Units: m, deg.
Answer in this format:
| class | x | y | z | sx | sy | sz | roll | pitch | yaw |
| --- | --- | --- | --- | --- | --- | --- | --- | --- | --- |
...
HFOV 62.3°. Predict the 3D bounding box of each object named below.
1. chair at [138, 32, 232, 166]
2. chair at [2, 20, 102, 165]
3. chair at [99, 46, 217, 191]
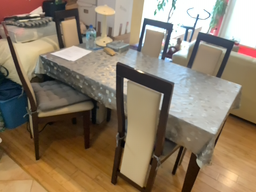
| class | x | y | z | sx | sy | sz | roll | pitch | yaw |
| --- | --- | --- | --- | --- | --- | --- | --- | --- | --- |
| chair | 0.480 | 0.020 | 1.940 | 0.380 | 1.040 | 0.550 | 29 | 37 | 31 |
| chair | -0.610 | -0.040 | 1.770 | 0.590 | 1.040 | 0.470 | -10 | 35 | -27 |
| chair | 0.160 | 0.260 | 1.470 | 0.380 | 1.040 | 0.560 | 29 | 37 | 32 |
